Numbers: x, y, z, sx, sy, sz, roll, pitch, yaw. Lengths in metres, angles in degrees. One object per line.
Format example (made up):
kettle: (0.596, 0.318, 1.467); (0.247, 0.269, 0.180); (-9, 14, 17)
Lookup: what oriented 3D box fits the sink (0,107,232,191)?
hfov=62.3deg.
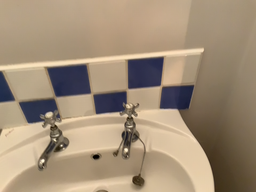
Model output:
sink: (-0.080, 0.280, 0.550); (0.610, 0.200, 0.440); (-6, 39, -5)
